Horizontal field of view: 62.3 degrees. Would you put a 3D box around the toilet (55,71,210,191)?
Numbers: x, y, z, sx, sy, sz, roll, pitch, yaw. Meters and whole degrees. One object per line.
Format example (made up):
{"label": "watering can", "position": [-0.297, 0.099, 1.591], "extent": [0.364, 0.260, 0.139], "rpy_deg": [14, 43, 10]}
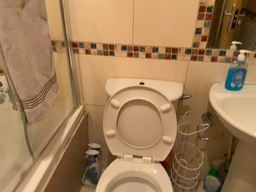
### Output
{"label": "toilet", "position": [0.040, 0.390, 1.090], "extent": [0.440, 0.800, 0.670], "rpy_deg": [4, 31, 6]}
